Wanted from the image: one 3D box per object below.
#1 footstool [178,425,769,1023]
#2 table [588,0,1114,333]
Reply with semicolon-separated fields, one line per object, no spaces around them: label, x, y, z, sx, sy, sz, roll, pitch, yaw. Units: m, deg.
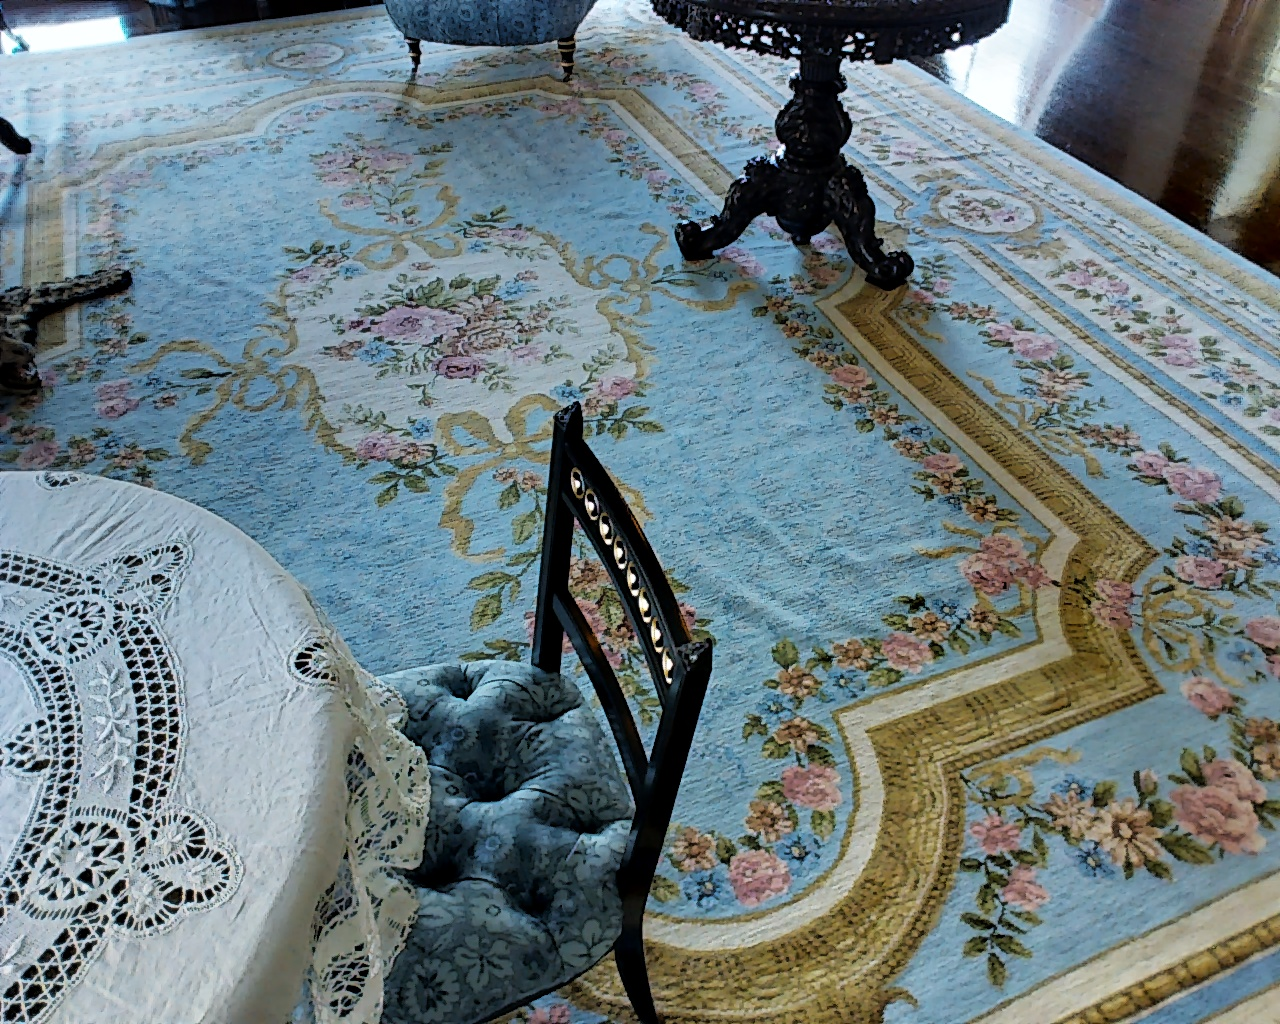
footstool;-0.210;0.370;1.370;0.520;0.680;0.570;-11;43;-12
table;0.510;-1.210;3.070;1.020;0.800;1.000;-15;44;-17
